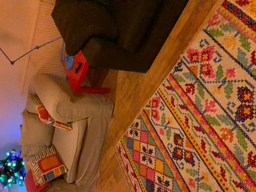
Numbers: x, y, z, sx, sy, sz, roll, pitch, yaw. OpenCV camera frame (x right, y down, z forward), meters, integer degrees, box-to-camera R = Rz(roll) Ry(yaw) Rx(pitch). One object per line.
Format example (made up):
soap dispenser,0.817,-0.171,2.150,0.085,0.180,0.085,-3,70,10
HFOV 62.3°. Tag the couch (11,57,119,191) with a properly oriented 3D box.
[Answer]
couch,-0.940,0.400,2.810,1.160,0.810,1.440,39,118,47
